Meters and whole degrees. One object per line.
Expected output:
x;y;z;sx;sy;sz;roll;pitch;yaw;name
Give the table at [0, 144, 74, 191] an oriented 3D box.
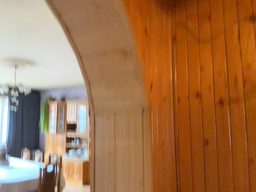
-2.100;1.370;3.790;2.070;0.820;0.940;-4;-9;28;table
